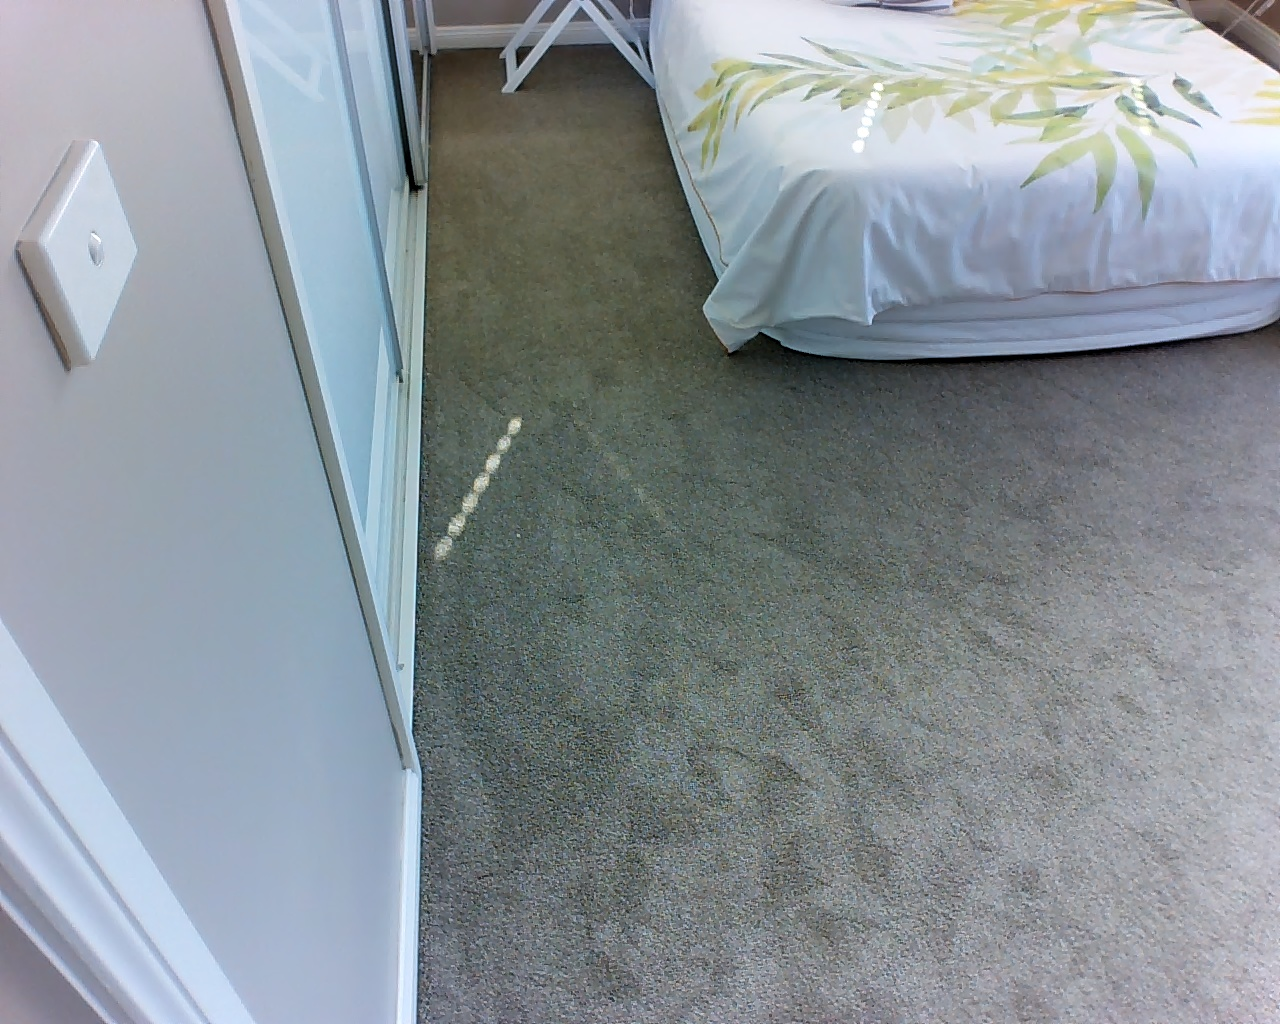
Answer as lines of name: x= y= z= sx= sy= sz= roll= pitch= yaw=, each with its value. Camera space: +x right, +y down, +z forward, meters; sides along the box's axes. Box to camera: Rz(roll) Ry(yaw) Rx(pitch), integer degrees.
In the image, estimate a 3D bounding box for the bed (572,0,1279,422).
bed: x=0.850 y=-1.300 z=2.970 sx=1.940 sy=0.790 sz=2.140 roll=-4 pitch=44 yaw=-5
